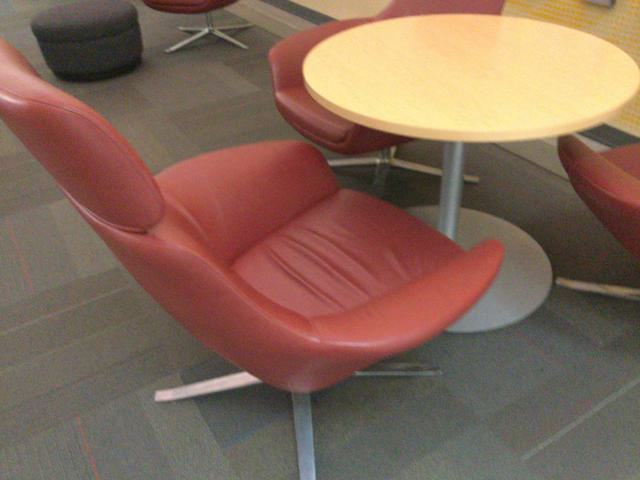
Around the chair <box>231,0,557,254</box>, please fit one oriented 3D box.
[{"bbox_3d":[0.250,-0.730,2.290,0.830,1.050,0.880,-25,44,-29],"label":"chair"}]

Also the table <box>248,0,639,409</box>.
[{"bbox_3d":[0.390,-0.220,1.860,0.870,0.780,0.940,-19,41,-23],"label":"table"}]

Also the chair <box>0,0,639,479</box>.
[{"bbox_3d":[-0.110,-0.010,1.360,0.900,1.040,0.900,-14,39,-23],"label":"chair"}]
